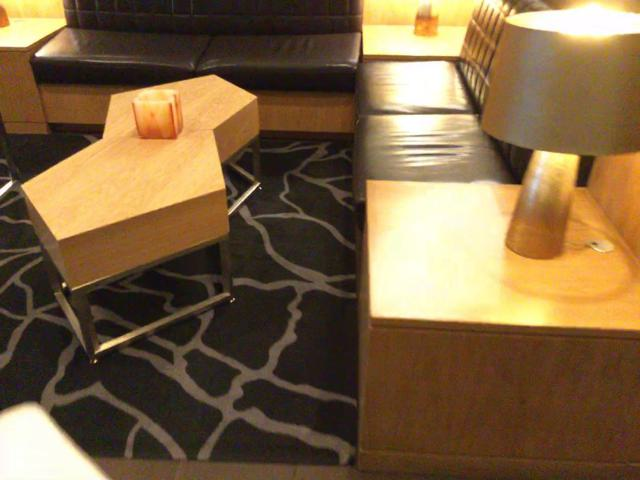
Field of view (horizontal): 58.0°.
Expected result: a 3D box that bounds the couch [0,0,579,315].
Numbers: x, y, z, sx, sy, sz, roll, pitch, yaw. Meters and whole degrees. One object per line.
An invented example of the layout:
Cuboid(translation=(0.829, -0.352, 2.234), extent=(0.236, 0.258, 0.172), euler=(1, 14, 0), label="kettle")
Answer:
Cuboid(translation=(-0.580, -0.740, 2.630), extent=(2.450, 0.960, 2.120), euler=(2, 32, -2), label="couch")

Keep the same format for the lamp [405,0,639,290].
Cuboid(translation=(0.490, -0.250, 1.320), extent=(0.460, 0.550, 0.460), euler=(2, 32, -2), label="lamp")
